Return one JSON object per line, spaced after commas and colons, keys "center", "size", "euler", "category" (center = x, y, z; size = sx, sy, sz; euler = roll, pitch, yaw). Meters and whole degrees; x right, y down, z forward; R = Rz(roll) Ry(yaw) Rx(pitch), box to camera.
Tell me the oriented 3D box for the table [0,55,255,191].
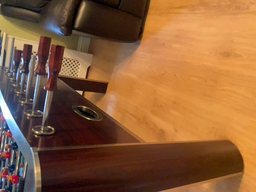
{"center": [-0.390, 0.350, 1.360], "size": [1.700, 0.880, 0.920], "euler": [24, 104, 52], "category": "table"}
